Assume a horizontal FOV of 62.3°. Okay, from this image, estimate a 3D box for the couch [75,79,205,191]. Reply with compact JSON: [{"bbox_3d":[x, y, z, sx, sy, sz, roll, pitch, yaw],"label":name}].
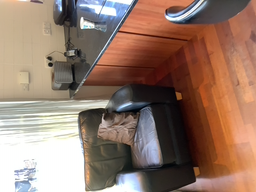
[{"bbox_3d":[0.030,0.440,2.150,0.870,0.850,0.930,-38,58,57],"label":"couch"}]
